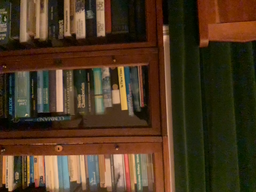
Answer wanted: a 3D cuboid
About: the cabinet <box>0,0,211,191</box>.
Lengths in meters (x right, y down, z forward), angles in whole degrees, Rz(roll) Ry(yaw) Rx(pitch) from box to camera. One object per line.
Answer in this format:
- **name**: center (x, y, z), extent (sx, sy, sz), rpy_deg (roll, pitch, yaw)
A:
- **cabinet**: center (-0.240, -0.340, 1.050), extent (1.090, 1.920, 0.380), rpy_deg (-2, 176, 7)
